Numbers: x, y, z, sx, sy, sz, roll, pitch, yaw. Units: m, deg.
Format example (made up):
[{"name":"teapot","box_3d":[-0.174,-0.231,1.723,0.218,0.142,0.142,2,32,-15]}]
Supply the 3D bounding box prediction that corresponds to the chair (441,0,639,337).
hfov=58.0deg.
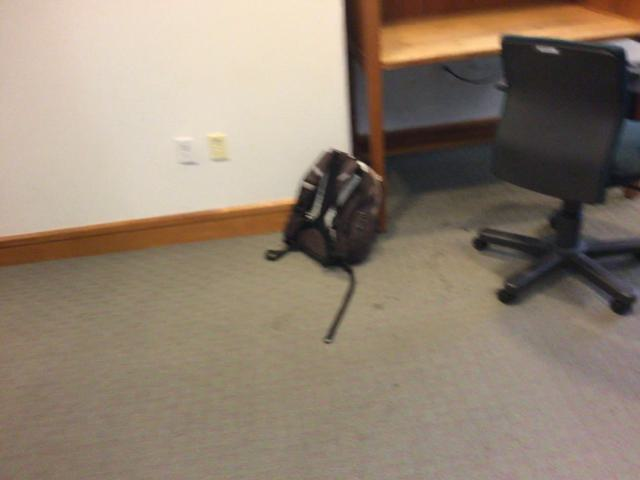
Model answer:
[{"name":"chair","box_3d":[0.890,-0.310,1.980,0.620,0.910,0.650,-30,35,-33]}]
